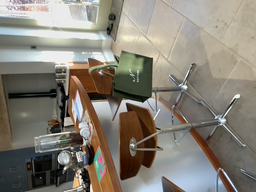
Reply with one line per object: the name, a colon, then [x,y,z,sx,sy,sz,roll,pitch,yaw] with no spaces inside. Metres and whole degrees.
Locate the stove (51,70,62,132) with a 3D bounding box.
stove: [-1.430,0.100,4.200,0.700,0.080,1.010,60,144,42]

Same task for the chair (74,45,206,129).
chair: [0.090,-0.120,2.010,0.490,1.060,0.530,52,138,49]
